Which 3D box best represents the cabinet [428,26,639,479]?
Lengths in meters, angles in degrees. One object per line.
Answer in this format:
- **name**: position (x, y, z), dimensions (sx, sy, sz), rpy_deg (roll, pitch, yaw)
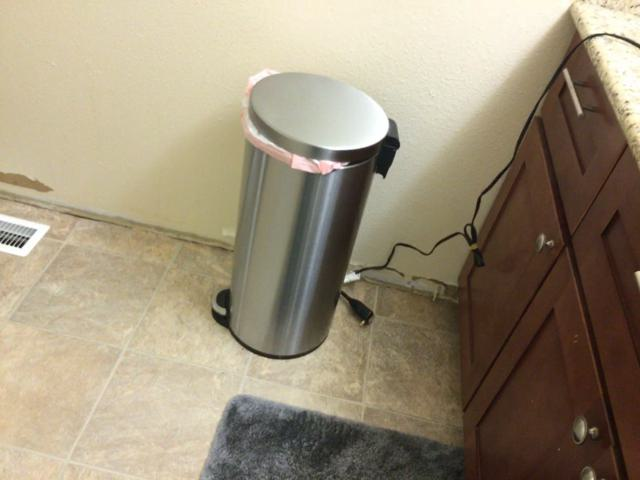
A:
- **cabinet**: position (0.320, 0.390, 0.810), dimensions (0.100, 0.780, 1.680), rpy_deg (16, 41, 0)
